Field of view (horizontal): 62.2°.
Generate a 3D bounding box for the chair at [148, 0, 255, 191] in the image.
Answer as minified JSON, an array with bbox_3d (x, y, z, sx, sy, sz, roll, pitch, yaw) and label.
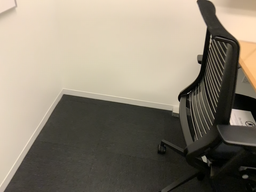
[{"bbox_3d":[0.560,0.120,1.150,0.730,1.040,0.810,8,37,1],"label":"chair"}]
